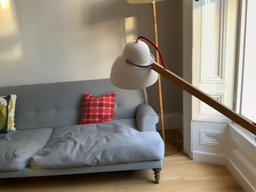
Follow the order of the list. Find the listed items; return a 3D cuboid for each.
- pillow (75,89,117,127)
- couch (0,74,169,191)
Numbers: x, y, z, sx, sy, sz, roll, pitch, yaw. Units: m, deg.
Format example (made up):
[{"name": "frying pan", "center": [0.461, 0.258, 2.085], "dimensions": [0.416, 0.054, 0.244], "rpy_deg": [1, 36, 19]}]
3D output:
[{"name": "pillow", "center": [-0.330, 0.130, 2.200], "dimensions": [0.390, 0.340, 0.170], "rpy_deg": [-5, -10, 2]}, {"name": "couch", "center": [-0.820, 0.300, 2.090], "dimensions": [2.230, 0.720, 1.080], "rpy_deg": [-4, 14, 1]}]
